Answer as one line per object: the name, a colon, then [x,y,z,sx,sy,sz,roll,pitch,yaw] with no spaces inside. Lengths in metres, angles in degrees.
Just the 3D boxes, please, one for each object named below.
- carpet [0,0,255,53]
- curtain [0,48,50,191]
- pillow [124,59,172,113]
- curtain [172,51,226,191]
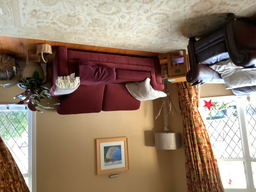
carpet: [0.030,-0.980,2.230,3.050,0.060,2.130,0,171,-25]
curtain: [-1.900,0.620,3.340,1.210,2.750,0.290,1,171,-30]
pillow: [0.330,-0.190,3.830,0.300,0.740,0.590,-13,142,-35]
curtain: [1.290,0.470,3.980,0.420,2.500,0.610,0,171,-22]
